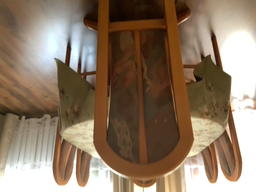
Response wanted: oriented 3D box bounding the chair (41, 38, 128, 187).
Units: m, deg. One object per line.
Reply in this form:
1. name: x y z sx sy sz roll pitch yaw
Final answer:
1. chair: -0.270 0.130 1.620 0.470 1.030 0.400 -4 157 7

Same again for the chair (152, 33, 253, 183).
1. chair: 0.460 0.090 1.580 0.470 1.020 0.410 -2 157 1

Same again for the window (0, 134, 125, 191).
1. window: -0.850 1.450 2.580 1.610 1.860 0.220 -3 157 4

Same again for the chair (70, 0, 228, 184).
1. chair: 0.060 -0.120 1.060 0.460 1.020 0.530 -2 157 2
